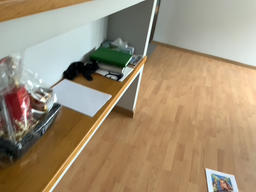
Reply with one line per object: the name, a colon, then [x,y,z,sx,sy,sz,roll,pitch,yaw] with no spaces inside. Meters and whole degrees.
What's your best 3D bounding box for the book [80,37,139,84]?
book: [-0.120,-0.270,1.510,0.300,0.150,0.360,16,33,10]
